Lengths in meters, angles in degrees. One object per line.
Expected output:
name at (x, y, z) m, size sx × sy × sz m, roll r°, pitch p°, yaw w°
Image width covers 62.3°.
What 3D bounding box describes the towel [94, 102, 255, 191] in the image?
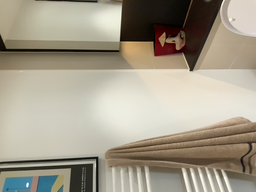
towel at (0.490, 0.240, 1.110) m, size 0.220 × 1.310 × 0.350 m, roll 98°, pitch 168°, yaw -50°
